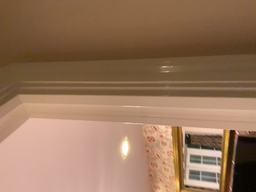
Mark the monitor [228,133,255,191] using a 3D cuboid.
[{"bbox_3d":[1.680,0.990,2.650,0.090,0.710,1.200,-59,-35,-57],"label":"monitor"}]
